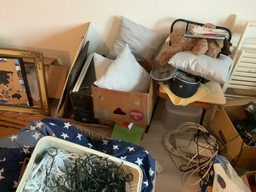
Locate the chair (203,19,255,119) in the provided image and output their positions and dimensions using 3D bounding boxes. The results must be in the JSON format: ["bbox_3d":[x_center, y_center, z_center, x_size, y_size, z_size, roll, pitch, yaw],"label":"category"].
[{"bbox_3d":[0.960,-0.170,1.730,0.420,0.820,0.160,9,45,4],"label":"chair"}]
